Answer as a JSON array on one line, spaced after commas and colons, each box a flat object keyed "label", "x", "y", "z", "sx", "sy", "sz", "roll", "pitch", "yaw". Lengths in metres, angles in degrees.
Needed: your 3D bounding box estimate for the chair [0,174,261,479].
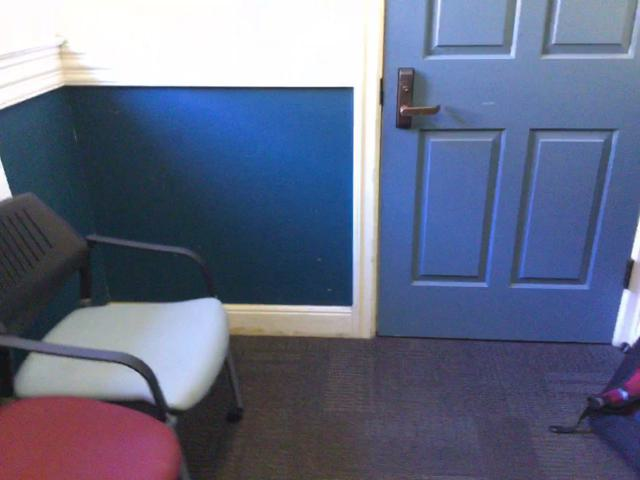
[{"label": "chair", "x": -0.530, "y": 0.320, "z": 1.580, "sx": 0.580, "sy": 0.850, "sz": 0.630, "roll": 1, "pitch": 22, "yaw": 5}]
